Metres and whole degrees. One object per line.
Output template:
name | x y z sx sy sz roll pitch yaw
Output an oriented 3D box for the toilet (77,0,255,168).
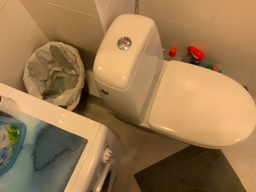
toilet | 0.230 0.020 0.990 0.640 0.740 0.360 20 72 11
